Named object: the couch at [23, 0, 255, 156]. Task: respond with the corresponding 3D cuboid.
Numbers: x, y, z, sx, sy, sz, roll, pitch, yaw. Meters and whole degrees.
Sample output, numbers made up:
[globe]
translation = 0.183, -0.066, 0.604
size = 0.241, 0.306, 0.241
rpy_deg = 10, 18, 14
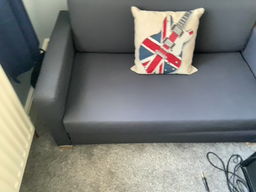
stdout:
[couch]
translation = 0.230, -0.140, 1.350
size = 1.350, 0.670, 0.740
rpy_deg = -2, 53, -5
